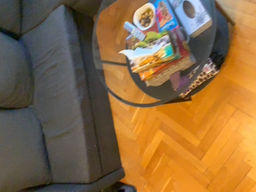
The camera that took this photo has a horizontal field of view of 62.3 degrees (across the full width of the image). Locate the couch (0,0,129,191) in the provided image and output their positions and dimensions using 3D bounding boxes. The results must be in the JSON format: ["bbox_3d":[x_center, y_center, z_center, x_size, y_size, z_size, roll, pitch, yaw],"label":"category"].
[{"bbox_3d":[-0.810,-0.260,1.840,0.930,0.780,2.170,-17,81,36],"label":"couch"}]

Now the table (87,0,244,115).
[{"bbox_3d":[0.200,-0.310,1.320,0.720,0.400,0.690,-17,81,36],"label":"table"}]
